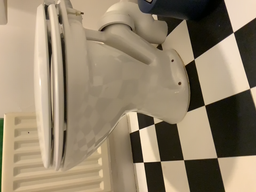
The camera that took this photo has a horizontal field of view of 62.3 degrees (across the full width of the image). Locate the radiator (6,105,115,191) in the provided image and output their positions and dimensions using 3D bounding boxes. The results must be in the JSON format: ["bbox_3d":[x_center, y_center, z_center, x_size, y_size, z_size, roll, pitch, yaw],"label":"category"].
[{"bbox_3d":[-0.290,0.260,0.940,0.070,0.430,0.420,149,117,-61],"label":"radiator"}]
